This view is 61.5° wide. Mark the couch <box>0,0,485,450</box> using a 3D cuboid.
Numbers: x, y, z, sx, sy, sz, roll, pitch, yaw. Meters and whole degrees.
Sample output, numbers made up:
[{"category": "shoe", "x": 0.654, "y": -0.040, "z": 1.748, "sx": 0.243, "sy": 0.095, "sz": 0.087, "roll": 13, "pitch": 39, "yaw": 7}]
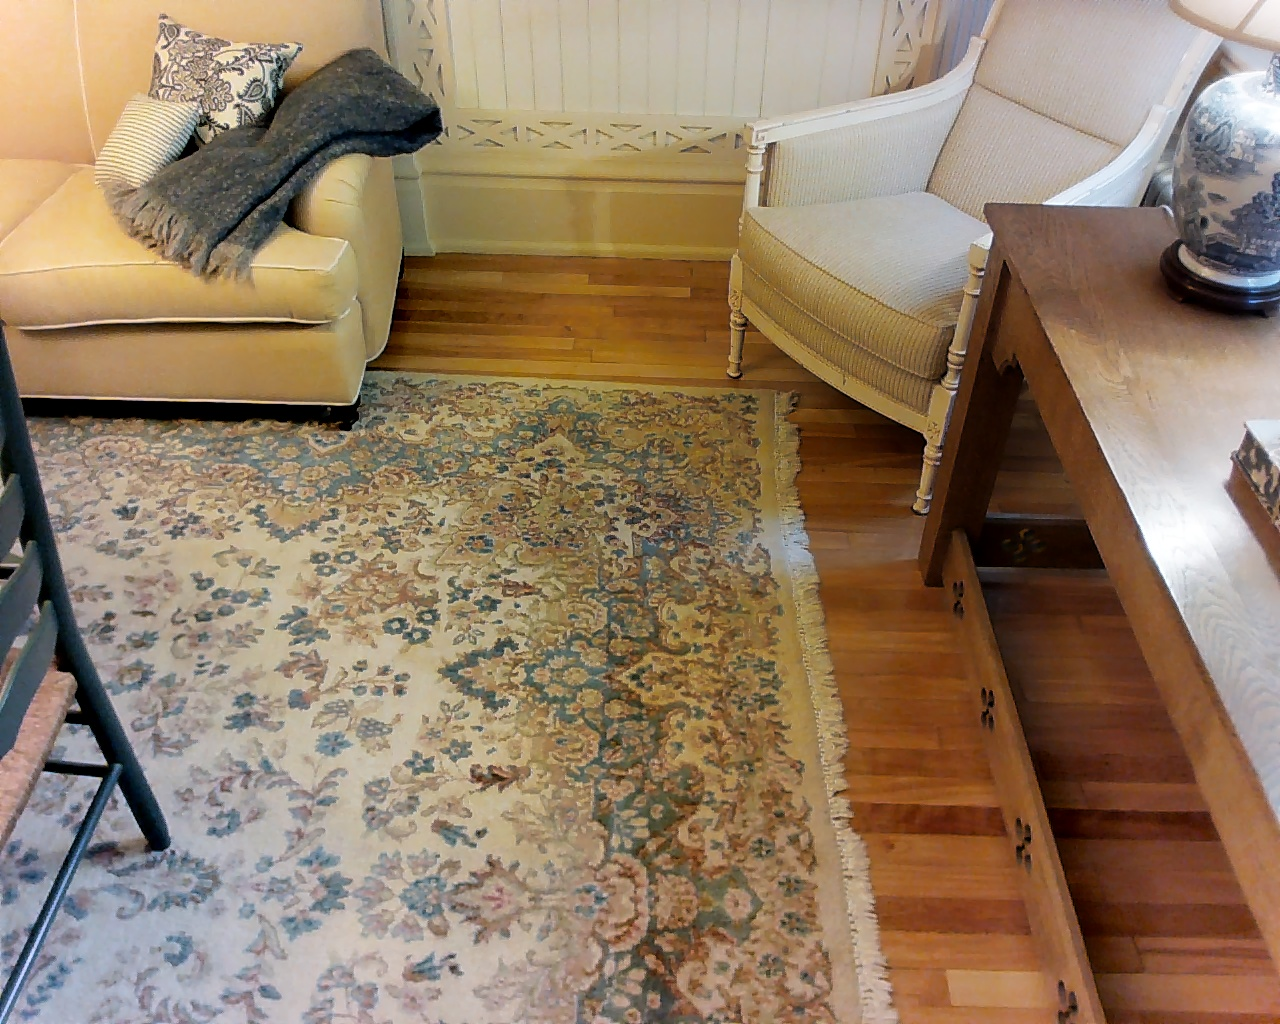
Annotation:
[{"category": "couch", "x": -1.630, "y": -0.880, "z": 2.620, "sx": 2.290, "sy": 0.930, "sz": 1.070, "roll": 2, "pitch": 42, "yaw": 1}]

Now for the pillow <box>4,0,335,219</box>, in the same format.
[{"category": "pillow", "x": -1.060, "y": -0.960, "z": 2.490, "sx": 0.400, "sy": 0.280, "sz": 0.520, "roll": 21, "pitch": 46, "yaw": 21}]

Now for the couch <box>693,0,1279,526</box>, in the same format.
[{"category": "couch", "x": 0.740, "y": -0.710, "z": 2.450, "sx": 0.910, "sy": 0.970, "sz": 0.780, "roll": -22, "pitch": 47, "yaw": -24}]
